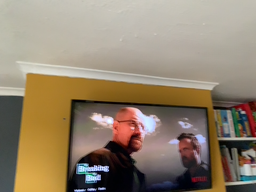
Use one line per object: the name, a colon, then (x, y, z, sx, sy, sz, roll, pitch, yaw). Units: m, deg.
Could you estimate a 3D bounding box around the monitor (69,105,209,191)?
monitor: (0.120, 0.360, 1.380, 0.950, 0.550, 0.040, 4, -9, -20)
